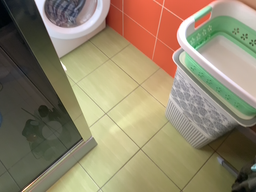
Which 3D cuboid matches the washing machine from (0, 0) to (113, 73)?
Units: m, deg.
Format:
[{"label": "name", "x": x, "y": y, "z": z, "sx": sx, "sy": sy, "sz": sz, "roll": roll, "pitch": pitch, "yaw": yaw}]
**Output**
[{"label": "washing machine", "x": -0.530, "y": -0.720, "z": 1.420, "sx": 0.620, "sy": 0.830, "sz": 0.520, "roll": -40, "pitch": 69, "yaw": -19}]
